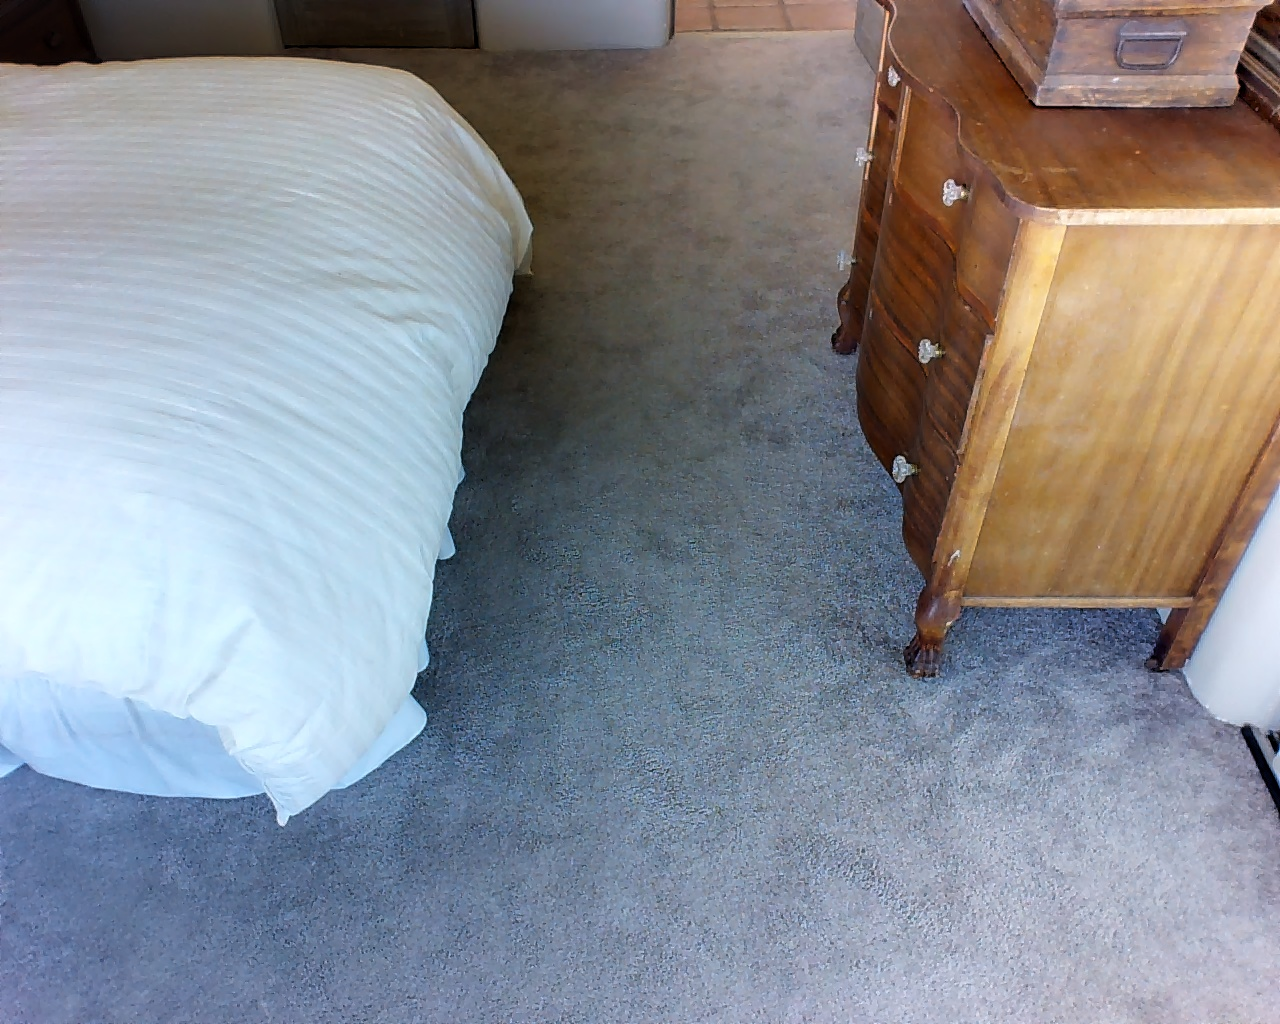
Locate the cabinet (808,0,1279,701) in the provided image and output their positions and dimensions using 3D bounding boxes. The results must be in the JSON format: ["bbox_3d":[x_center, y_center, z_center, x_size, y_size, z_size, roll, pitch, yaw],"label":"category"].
[{"bbox_3d":[0.690,-0.380,1.900,0.580,0.880,1.100,0,42,1],"label":"cabinet"}]
